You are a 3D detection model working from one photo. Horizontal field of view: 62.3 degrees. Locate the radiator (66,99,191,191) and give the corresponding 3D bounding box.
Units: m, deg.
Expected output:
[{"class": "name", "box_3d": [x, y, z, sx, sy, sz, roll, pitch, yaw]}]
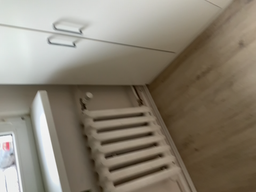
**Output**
[{"class": "radiator", "box_3d": [0.010, 0.340, 1.520, 0.210, 0.710, 0.610, -51, 55, 38]}]
